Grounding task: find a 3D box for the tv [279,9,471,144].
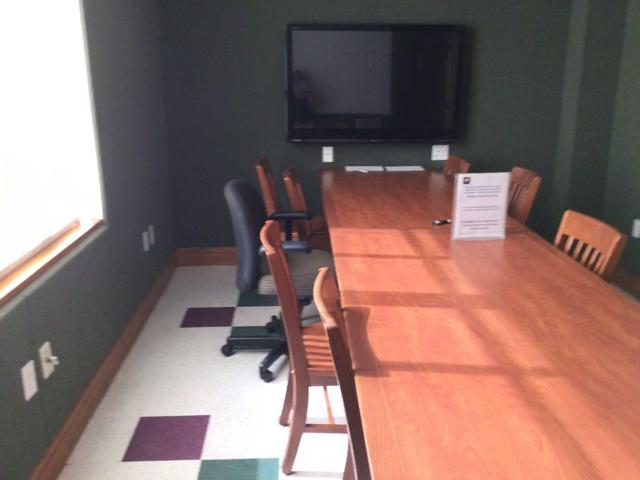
[{"bbox_3d":[0.370,-1.130,4.030,1.270,0.860,0.200,-2,17,-2],"label":"tv"}]
